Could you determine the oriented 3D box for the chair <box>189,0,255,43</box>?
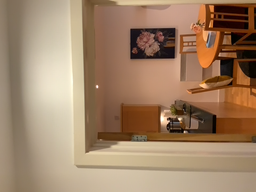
[{"bbox_3d":[1.370,-1.000,2.830,0.520,0.970,0.440,0,-90,-88],"label":"chair"}]
